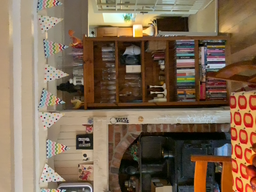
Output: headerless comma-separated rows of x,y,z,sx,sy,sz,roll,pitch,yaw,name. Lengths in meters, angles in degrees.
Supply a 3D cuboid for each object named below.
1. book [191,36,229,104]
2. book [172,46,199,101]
1.170,-0.360,3.070,0.280,0.380,0.930,116,154,-82,book
0.820,-0.310,3.060,0.220,0.320,0.760,160,110,-86,book
